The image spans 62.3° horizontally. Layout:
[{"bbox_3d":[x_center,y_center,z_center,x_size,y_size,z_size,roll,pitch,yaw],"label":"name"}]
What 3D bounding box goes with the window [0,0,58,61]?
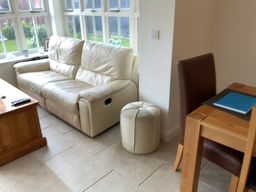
[{"bbox_3d":[-2.240,-1.440,3.530,0.250,1.640,2.000,18,30,37],"label":"window"}]
